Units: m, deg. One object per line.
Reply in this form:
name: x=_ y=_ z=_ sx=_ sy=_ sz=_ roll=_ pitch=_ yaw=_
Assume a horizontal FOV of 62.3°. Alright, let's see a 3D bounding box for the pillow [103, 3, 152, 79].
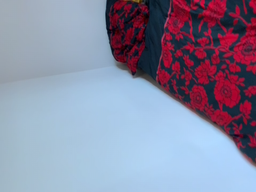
pillow: x=-0.020 y=-0.590 z=2.180 sx=0.580 sy=0.230 sz=0.660 roll=38 pitch=135 yaw=53
